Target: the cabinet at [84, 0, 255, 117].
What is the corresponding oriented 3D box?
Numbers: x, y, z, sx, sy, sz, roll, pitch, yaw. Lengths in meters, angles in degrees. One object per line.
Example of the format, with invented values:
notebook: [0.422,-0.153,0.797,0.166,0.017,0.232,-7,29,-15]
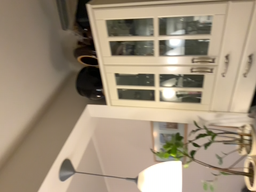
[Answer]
cabinet: [0.270,-0.280,1.240,0.400,0.830,0.650,-72,-19,-51]
